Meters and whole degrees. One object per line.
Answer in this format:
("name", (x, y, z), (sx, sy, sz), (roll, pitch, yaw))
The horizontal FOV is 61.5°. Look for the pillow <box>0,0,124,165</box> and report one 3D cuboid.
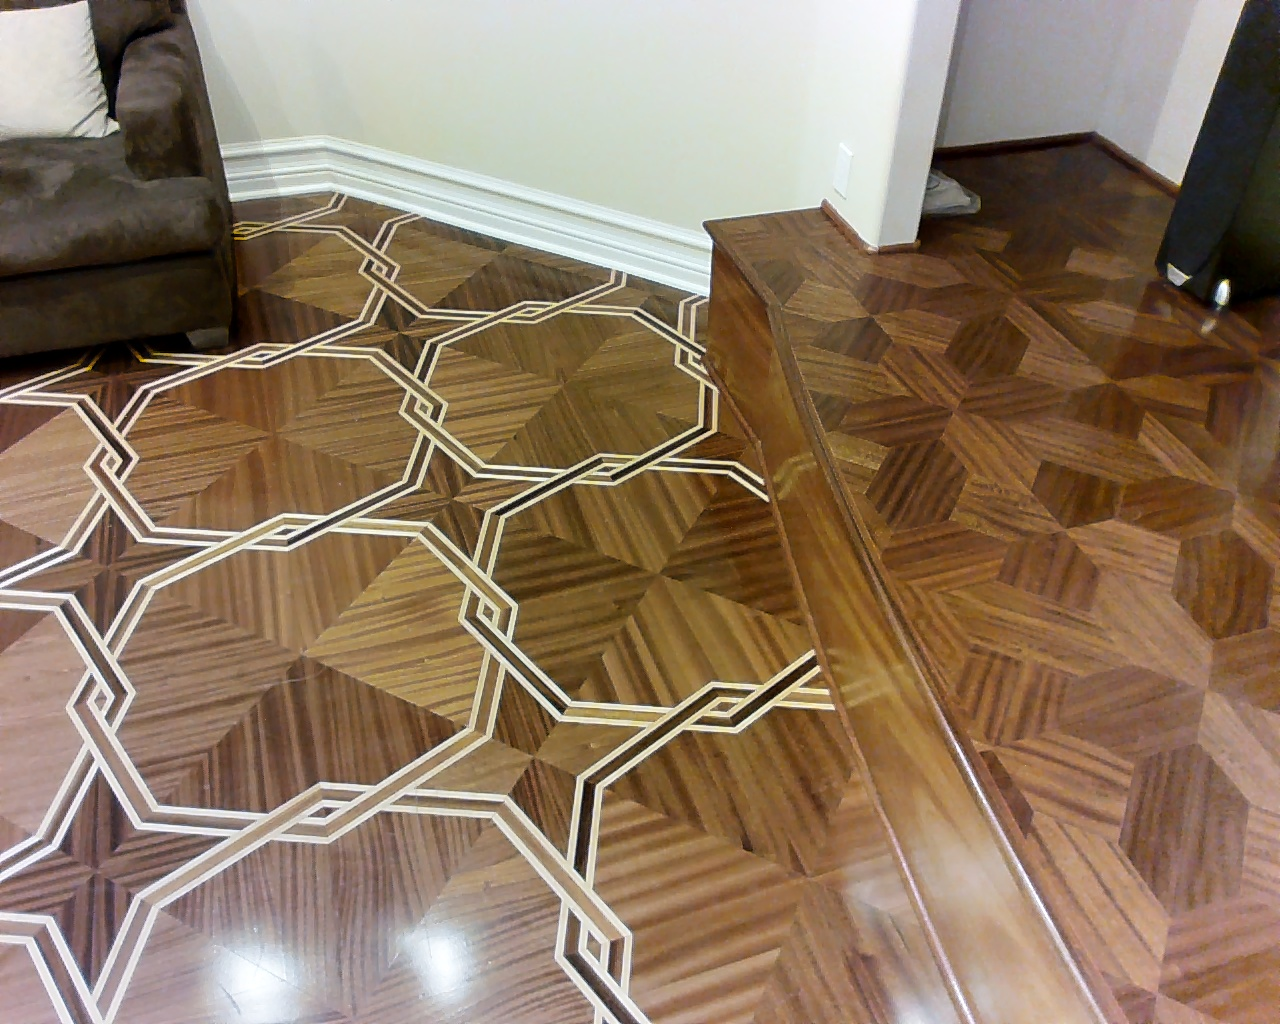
("pillow", (-1.630, -1.180, 2.930), (0.370, 0.330, 0.190), (7, 41, -17))
